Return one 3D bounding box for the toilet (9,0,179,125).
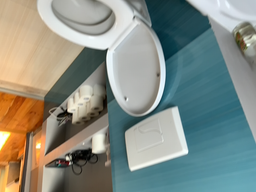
[{"bbox_3d":[-0.160,-0.340,0.980,0.520,0.810,0.370,14,146,-36],"label":"toilet"}]
